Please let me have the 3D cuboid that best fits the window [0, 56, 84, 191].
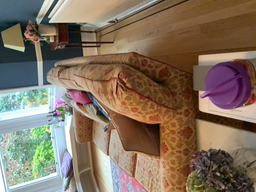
[{"bbox_3d":[-2.340,1.420,3.760,1.310,2.690,3.920,10,107,61],"label":"window"}]
